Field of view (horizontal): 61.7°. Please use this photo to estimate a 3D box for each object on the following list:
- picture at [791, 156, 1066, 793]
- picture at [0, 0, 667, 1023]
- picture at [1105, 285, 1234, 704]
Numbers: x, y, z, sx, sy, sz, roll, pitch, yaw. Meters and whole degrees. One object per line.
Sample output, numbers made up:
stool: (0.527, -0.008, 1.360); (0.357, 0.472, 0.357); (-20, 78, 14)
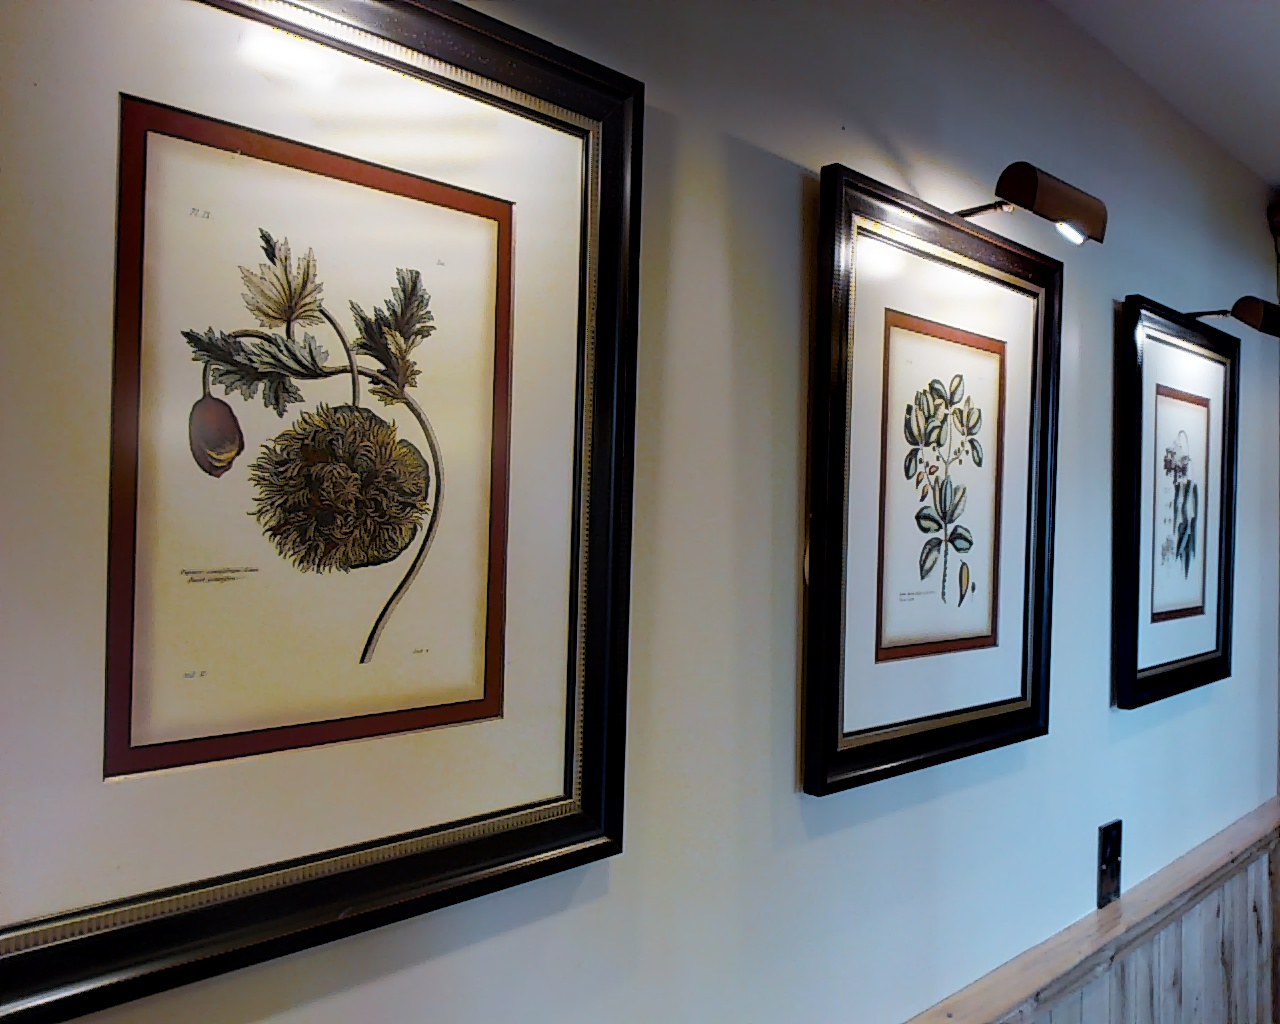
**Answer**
picture: (0.440, -0.040, 1.530); (0.060, 0.760, 0.650); (0, -1, 45)
picture: (-0.240, -0.050, 0.830); (0.070, 0.780, 0.680); (0, -1, 45)
picture: (1.100, -0.030, 2.200); (0.050, 0.770, 0.600); (0, -1, 45)
